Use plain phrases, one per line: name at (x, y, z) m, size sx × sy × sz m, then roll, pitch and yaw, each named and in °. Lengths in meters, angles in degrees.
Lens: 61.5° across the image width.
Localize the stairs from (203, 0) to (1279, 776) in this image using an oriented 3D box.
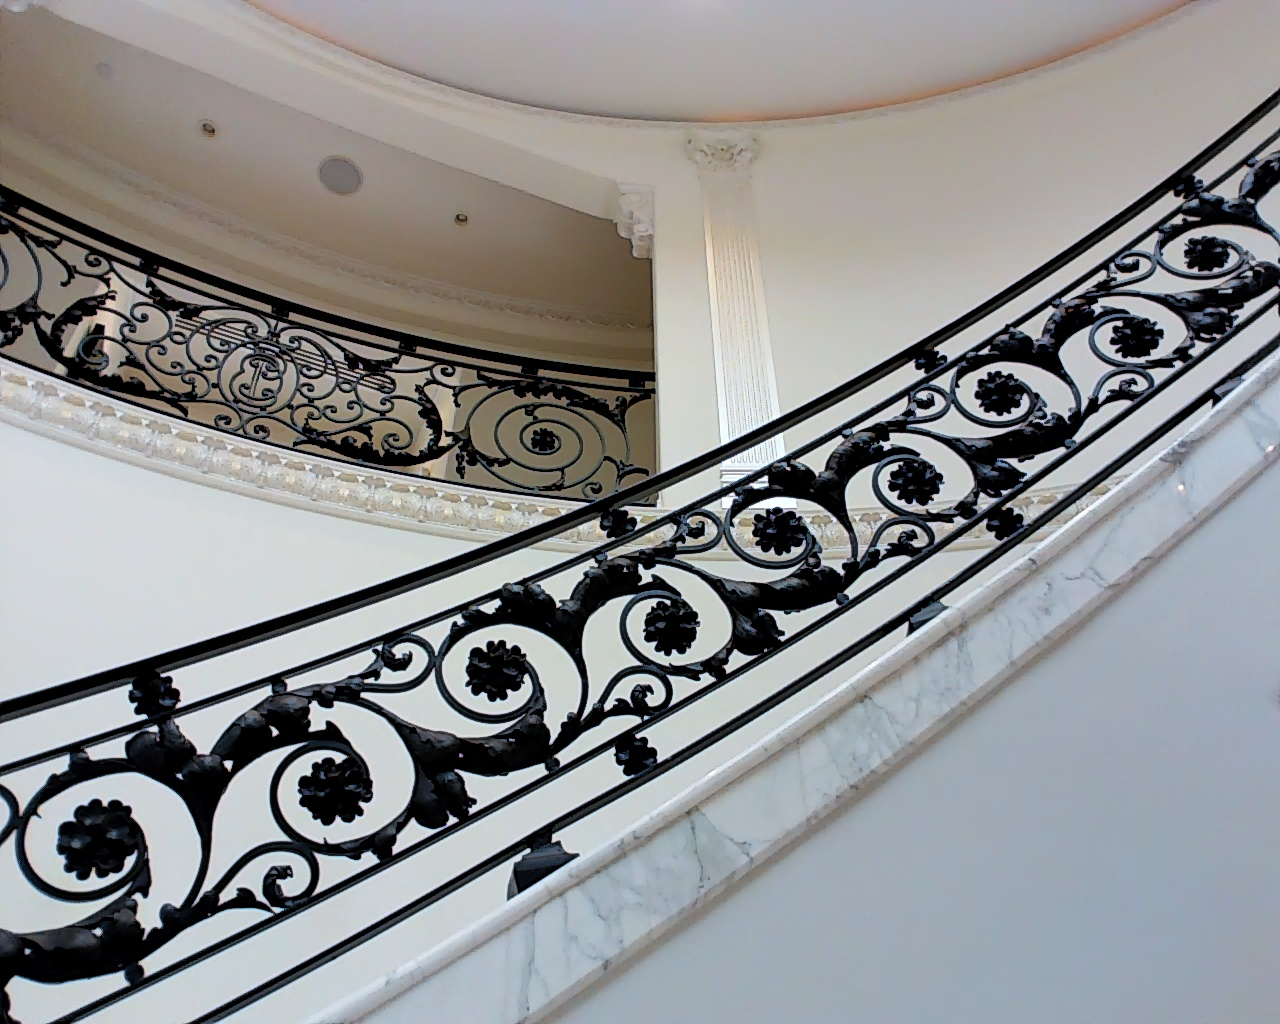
stairs at (0.630, -1.600, 5.390) m, size 5.380 × 3.651 × 2.130 m, roll -33°, pitch -51°, yaw 32°
